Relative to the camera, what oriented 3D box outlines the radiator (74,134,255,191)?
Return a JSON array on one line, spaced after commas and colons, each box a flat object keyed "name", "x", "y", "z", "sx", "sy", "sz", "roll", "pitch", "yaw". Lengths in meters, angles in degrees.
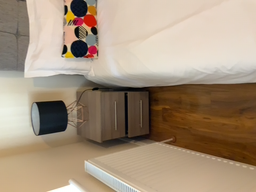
[{"name": "radiator", "x": 0.350, "y": 0.340, "z": 0.970, "sx": 1.290, "sy": 0.690, "sz": 0.080, "roll": -2, "pitch": 91, "yaw": 52}]
